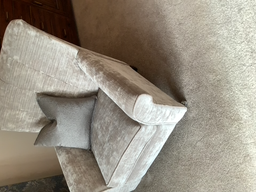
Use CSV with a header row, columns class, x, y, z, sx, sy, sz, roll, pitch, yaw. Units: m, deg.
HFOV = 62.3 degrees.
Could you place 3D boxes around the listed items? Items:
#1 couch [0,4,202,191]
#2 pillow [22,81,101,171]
class,x,y,z,sx,sy,sz,roll,pitch,yaw
couch,-0.310,0.100,1.410,0.920,0.910,0.840,45,118,37
pillow,-0.410,0.180,1.420,0.230,0.390,0.410,11,121,25
